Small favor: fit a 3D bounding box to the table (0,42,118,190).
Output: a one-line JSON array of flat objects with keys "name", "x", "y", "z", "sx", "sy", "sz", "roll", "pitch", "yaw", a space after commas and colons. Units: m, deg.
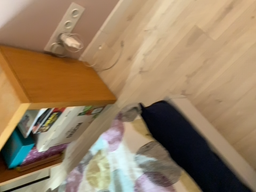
[{"name": "table", "x": -0.570, "y": 0.150, "z": 1.230, "sx": 0.750, "sy": 0.640, "sz": 0.370, "roll": -48, "pitch": 68, "yaw": 22}]
